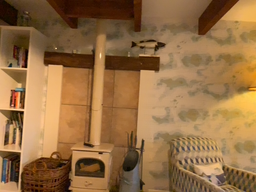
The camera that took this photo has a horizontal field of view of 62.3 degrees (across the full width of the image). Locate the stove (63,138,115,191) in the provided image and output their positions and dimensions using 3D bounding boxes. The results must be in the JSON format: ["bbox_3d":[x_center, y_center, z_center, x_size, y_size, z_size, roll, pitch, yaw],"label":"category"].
[{"bbox_3d":[-0.420,0.820,2.430,0.480,0.560,0.450,3,-1,2],"label":"stove"}]
